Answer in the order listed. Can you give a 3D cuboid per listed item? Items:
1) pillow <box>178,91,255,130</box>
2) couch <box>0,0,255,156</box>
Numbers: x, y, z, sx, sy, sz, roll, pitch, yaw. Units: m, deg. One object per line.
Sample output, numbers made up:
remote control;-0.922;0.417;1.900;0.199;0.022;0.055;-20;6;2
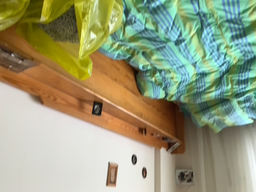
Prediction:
pillow;0.880;0.170;2.090;0.640;0.190;0.420;-10;154;30
couch;0.400;-0.210;1.500;1.060;0.960;2.220;-8;155;27
